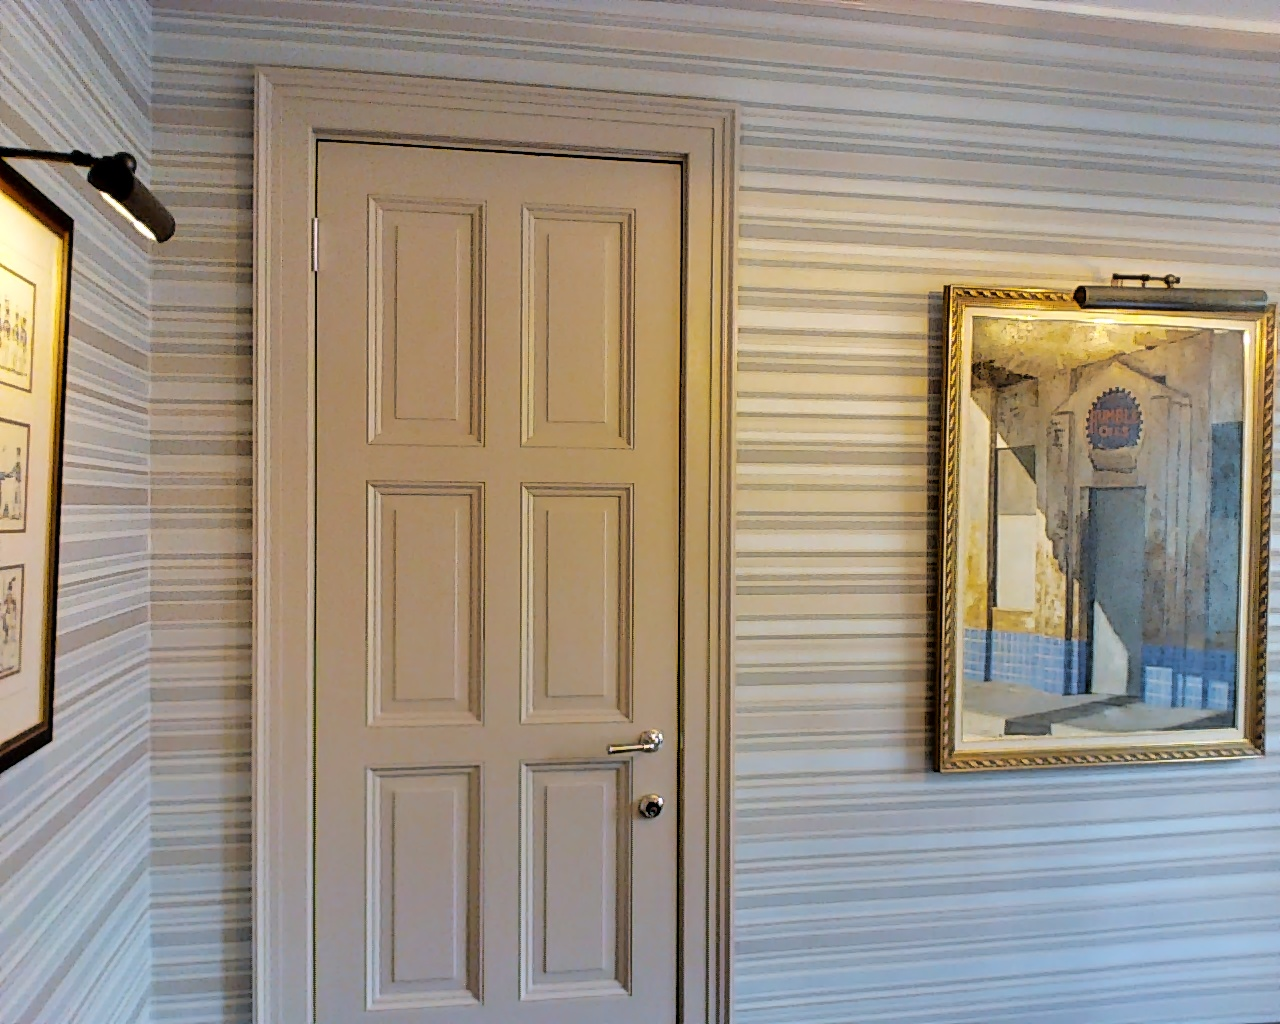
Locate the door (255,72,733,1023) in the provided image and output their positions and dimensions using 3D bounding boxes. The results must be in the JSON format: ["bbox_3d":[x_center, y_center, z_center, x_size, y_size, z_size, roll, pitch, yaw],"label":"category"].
[{"bbox_3d":[-0.310,0.270,2.400,1.030,2.380,0.090,0,1,-11],"label":"door"}]
